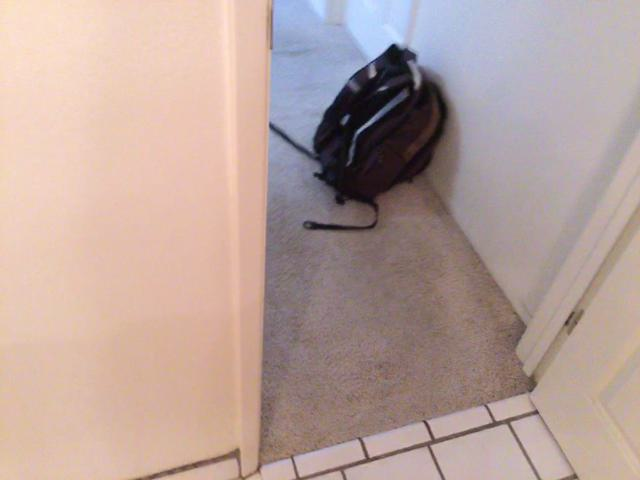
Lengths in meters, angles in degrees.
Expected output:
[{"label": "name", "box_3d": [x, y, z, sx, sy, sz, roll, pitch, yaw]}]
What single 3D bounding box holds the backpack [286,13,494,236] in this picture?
[{"label": "backpack", "box_3d": [0.200, -0.360, 1.870, 0.290, 0.420, 0.490, 18, -53, -39]}]
